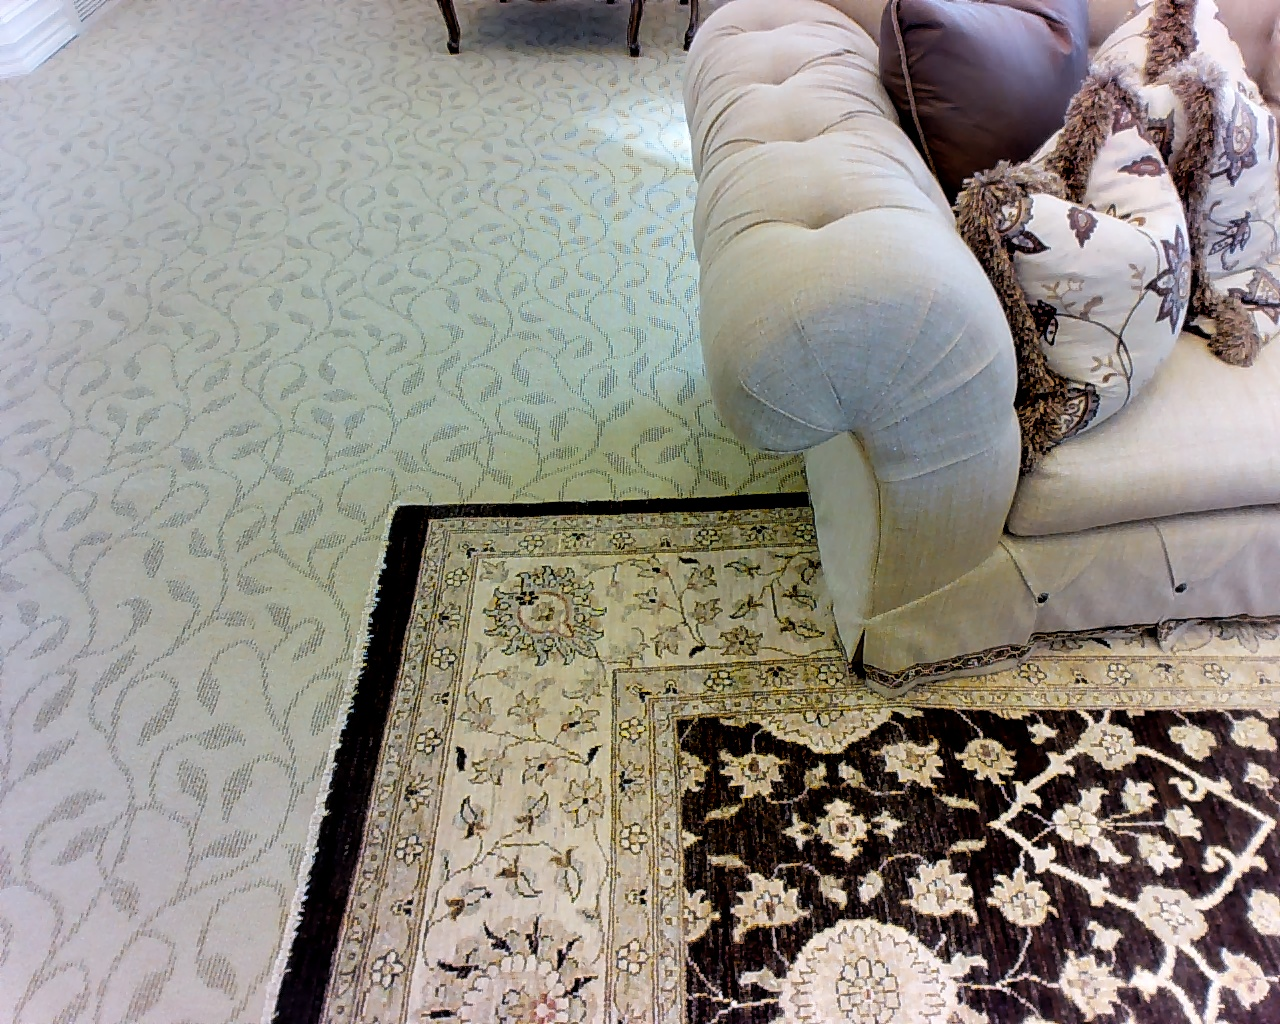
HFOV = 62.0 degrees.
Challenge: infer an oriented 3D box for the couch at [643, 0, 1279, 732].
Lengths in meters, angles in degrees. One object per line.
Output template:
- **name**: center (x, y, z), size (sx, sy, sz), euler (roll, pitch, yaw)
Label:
- **couch**: center (1.570, -0.550, 2.010), size (3.090, 1.140, 1.470), euler (0, 42, -1)
